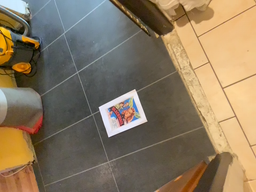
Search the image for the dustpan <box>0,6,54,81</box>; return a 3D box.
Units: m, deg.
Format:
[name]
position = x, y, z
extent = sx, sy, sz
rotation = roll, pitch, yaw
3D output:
[dustpan]
position = -0.910, -0.380, 1.680
extent = 0.370, 0.400, 0.380
rotation = -20, 79, 26
